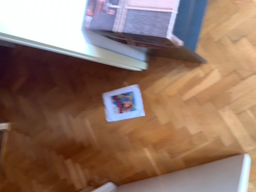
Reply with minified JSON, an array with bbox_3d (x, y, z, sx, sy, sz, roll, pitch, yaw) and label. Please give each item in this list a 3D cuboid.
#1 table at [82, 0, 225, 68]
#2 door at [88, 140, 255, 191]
[{"bbox_3d":[0.220,-0.600,0.960,0.370,0.630,0.820,17,98,29],"label":"table"},{"bbox_3d":[-0.170,0.440,0.430,0.830,2.060,0.130,-24,78,28],"label":"door"}]
